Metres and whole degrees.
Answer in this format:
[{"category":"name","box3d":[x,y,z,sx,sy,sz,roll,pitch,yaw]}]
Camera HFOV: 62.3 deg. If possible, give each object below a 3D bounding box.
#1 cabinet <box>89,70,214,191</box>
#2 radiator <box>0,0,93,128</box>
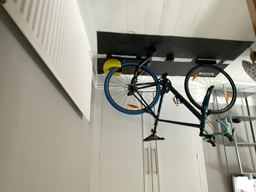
[{"category":"cabinet","box3d":[0.320,1.170,2.860,1.630,3.070,0.310,4,159,-13]},{"category":"radiator","box3d":[-0.460,-0.400,1.690,0.110,0.950,1.790,0,160,-2]}]
